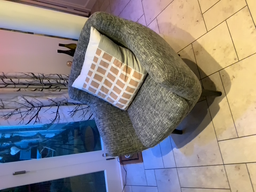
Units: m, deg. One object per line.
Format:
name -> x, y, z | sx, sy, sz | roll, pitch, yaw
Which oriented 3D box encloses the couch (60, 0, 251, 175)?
couch -> 0.080, -0.070, 1.540 | 0.820, 0.830, 0.810 | -58, 43, 38
